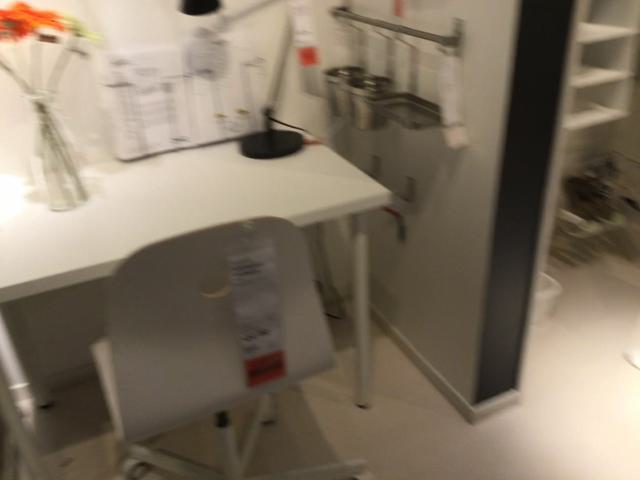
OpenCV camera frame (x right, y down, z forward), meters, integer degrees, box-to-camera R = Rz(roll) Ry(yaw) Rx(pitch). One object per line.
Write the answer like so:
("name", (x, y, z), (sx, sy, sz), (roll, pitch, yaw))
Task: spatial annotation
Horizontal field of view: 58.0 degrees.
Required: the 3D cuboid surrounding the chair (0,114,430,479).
("chair", (-0.200, 0.290, 1.280), (0.620, 0.900, 0.630), (-15, 30, -18))
